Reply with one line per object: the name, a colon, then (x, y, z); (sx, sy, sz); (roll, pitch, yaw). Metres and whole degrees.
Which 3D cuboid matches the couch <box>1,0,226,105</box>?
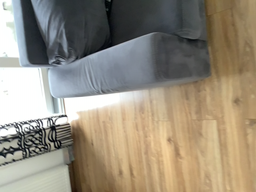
couch: (-0.140, -0.600, 1.260); (1.010, 0.800, 1.170); (-6, 92, 43)
